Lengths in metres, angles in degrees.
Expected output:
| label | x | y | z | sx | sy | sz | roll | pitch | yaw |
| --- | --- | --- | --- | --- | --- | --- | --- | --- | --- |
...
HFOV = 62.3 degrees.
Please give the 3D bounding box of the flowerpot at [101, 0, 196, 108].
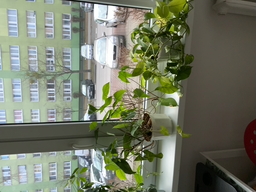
| label | x | y | z | sx | sy | sz | roll | pitch | yaw |
| --- | --- | --- | --- | --- | --- | --- | --- | --- | --- |
| flowerpot | 0.080 | -0.260 | 1.270 | 0.430 | 0.410 | 0.570 | -149 | 60 | -71 |
